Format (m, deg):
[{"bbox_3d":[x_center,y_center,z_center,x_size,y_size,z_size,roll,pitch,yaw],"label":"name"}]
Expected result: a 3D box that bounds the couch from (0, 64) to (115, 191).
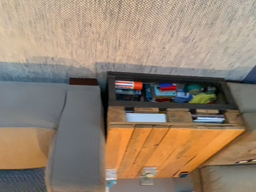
[{"bbox_3d":[-0.850,0.400,1.360,1.410,0.720,0.990,1,144,-10],"label":"couch"}]
